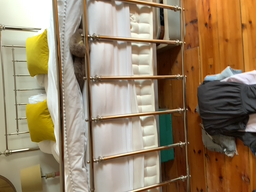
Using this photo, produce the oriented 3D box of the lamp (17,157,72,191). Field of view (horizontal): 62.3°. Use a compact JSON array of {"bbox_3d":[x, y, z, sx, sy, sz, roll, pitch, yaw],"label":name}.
[{"bbox_3d":[-1.050,1.020,2.660,0.380,0.590,0.310,-4,89,64],"label":"lamp"}]
